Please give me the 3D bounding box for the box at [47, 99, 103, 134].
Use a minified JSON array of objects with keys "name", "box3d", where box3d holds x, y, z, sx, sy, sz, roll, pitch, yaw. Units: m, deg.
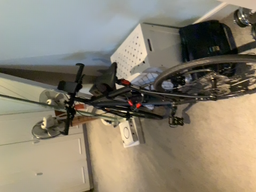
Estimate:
[{"name":"box","box3d":[-0.880,0.340,3.430,0.730,0.680,0.410,-23,73,58]}]
